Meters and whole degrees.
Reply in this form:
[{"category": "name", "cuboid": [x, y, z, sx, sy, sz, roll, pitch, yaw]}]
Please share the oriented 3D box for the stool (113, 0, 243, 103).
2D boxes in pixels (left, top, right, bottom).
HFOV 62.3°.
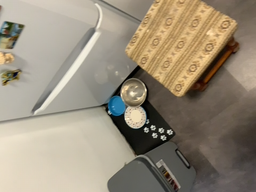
[{"category": "stool", "cuboid": [0.250, -0.210, 0.950, 0.340, 0.460, 0.300, 43, 112, 21]}]
